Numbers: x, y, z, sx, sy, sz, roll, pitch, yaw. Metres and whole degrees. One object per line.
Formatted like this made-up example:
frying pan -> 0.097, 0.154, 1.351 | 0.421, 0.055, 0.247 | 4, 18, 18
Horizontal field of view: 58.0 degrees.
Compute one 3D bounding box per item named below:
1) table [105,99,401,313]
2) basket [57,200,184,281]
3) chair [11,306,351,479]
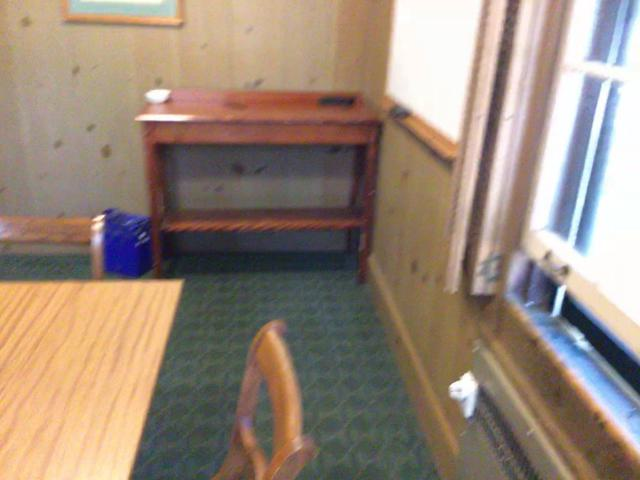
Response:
table -> -0.310, -0.220, 3.130 | 1.340, 0.940, 0.720 | -2, 21, -3
basket -> -1.110, -0.010, 3.290 | 0.510, 0.320, 0.450 | 1, 21, 5
chair -> -0.190, 0.600, 1.120 | 0.450, 0.790, 0.470 | -2, 21, -3
